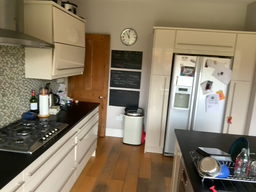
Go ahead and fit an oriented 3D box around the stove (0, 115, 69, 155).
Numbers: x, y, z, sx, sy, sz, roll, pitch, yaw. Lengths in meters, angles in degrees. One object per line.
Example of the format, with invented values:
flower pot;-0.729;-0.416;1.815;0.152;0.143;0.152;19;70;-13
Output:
stove;-0.930;0.310;1.870;0.550;0.030;0.740;6;11;6
